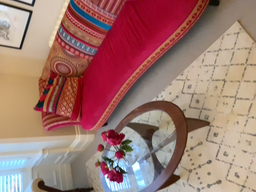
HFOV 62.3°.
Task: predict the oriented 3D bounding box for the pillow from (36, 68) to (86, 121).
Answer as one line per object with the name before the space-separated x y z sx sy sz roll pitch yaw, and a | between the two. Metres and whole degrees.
pillow | -0.780 -0.010 2.530 0.180 0.410 0.520 7 75 32
